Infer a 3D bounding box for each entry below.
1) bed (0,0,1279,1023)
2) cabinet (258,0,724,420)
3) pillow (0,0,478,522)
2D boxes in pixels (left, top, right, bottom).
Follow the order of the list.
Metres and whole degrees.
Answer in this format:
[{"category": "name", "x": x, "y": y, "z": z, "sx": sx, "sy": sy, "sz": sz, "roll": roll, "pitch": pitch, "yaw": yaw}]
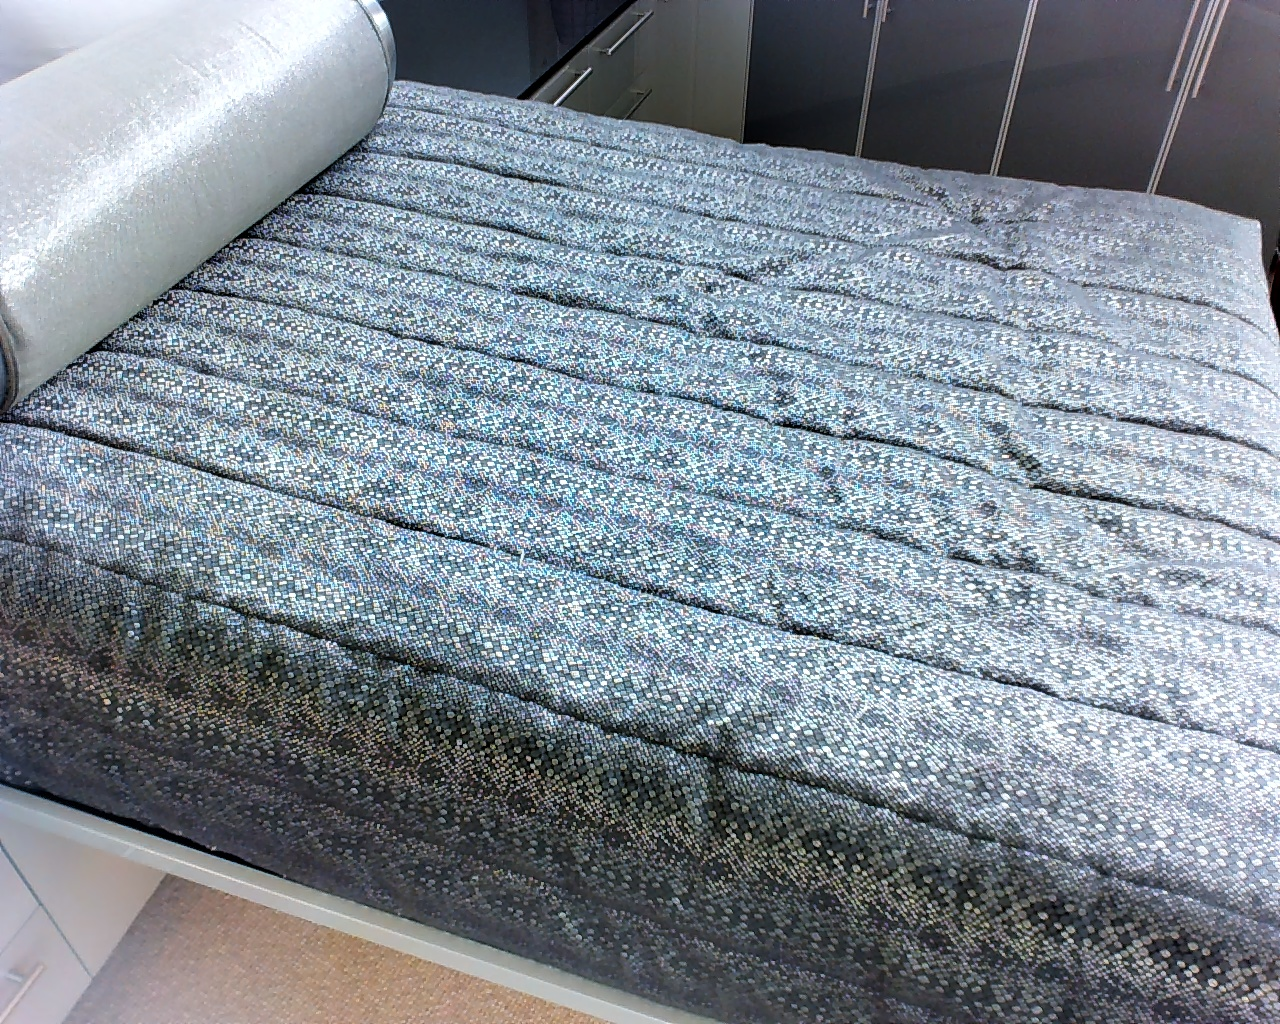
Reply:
[{"category": "bed", "x": -0.050, "y": -0.160, "z": 1.660, "sx": 2.170, "sy": 1.270, "sz": 1.720, "roll": 12, "pitch": 44, "yaw": 14}, {"category": "cabinet", "x": -0.280, "y": -1.150, "z": 3.150, "sx": 0.650, "sy": 0.860, "sz": 1.640, "roll": 12, "pitch": 44, "yaw": 13}, {"category": "pillow", "x": -0.690, "y": -0.550, "z": 1.570, "sx": 0.340, "sy": 0.330, "sz": 1.350, "roll": 12, "pitch": 44, "yaw": 13}]
